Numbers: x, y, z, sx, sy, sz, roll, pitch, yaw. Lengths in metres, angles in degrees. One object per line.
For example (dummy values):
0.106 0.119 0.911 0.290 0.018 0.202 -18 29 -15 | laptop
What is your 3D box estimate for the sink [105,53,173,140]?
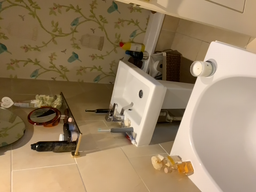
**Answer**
0.040 -0.020 1.530 0.530 0.150 0.420 46 127 52 | sink
